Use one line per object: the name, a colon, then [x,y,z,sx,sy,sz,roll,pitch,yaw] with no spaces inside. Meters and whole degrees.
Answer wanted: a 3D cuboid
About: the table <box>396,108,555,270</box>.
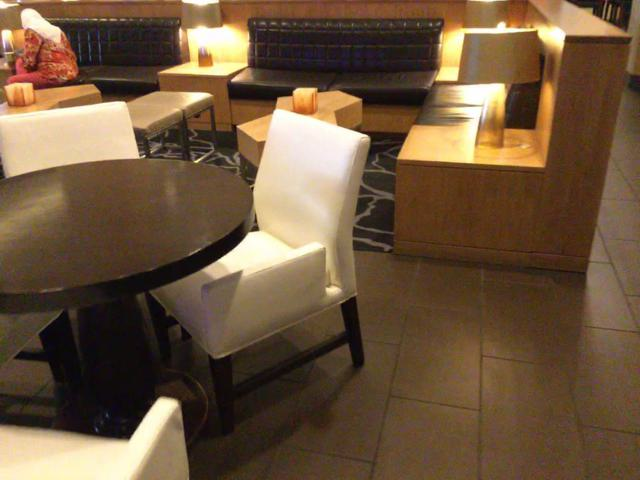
table: [0.810,-0.330,3.110,0.670,0.530,0.990,4,26,13]
